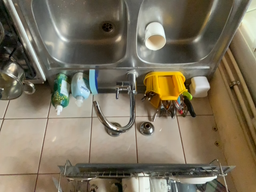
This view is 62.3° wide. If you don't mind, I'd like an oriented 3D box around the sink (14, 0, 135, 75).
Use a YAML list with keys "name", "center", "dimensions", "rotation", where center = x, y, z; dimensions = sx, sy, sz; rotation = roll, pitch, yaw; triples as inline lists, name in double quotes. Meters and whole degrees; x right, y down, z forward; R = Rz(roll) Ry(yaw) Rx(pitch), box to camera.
- name: "sink"
  center: [-0.180, -0.300, 0.870]
  dimensions: [0.390, 0.180, 0.430]
  rotation: [-1, 145, -3]

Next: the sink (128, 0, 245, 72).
- name: "sink"
  center: [0.200, -0.310, 0.880]
  dimensions: [0.380, 0.170, 0.430]
  rotation: [-1, 145, -3]
